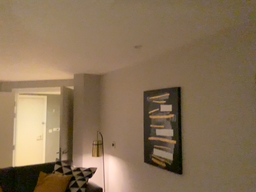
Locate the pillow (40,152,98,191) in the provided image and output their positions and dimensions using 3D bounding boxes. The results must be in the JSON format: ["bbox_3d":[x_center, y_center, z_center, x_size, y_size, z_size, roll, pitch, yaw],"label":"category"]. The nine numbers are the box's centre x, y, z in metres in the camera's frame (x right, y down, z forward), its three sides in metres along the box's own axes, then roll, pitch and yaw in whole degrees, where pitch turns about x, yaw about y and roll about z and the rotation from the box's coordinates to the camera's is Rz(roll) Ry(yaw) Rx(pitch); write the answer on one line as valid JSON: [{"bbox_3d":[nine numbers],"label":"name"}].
[{"bbox_3d":[-0.800,1.160,2.920,0.540,0.620,0.190,10,-38,16],"label":"pillow"}]

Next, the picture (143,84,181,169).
[{"bbox_3d":[0.370,0.330,2.460,0.030,0.880,0.590,3,-5,-33],"label":"picture"}]

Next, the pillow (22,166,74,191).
[{"bbox_3d":[-1.040,1.190,2.770,0.510,0.410,0.130,10,-45,19],"label":"pillow"}]
